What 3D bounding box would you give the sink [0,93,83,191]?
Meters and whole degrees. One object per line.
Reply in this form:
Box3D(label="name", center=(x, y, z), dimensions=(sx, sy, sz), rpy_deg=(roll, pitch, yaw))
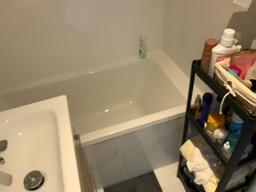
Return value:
Box3D(label="sink", center=(-0.380, 0.290, 0.720), dimensions=(0.410, 0.120, 0.650), rpy_deg=(-15, 44, -10))
